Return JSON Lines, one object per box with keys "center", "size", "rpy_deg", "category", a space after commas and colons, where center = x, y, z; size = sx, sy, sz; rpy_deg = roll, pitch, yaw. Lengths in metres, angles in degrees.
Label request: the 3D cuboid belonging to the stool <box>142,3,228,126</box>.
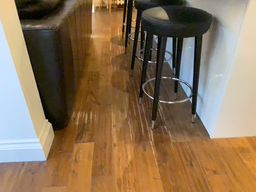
{"center": [0.310, -0.200, 1.390], "size": [0.350, 0.700, 0.350], "rpy_deg": [-4, 33, -6], "category": "stool"}
